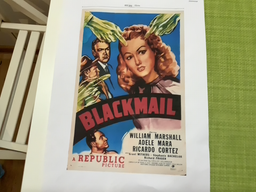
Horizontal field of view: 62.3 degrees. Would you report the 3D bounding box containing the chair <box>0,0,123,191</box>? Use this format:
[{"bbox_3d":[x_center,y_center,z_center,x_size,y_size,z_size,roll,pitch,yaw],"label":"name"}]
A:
[{"bbox_3d":[-0.280,-0.050,0.670,0.450,0.770,0.460,5,79,2],"label":"chair"}]
